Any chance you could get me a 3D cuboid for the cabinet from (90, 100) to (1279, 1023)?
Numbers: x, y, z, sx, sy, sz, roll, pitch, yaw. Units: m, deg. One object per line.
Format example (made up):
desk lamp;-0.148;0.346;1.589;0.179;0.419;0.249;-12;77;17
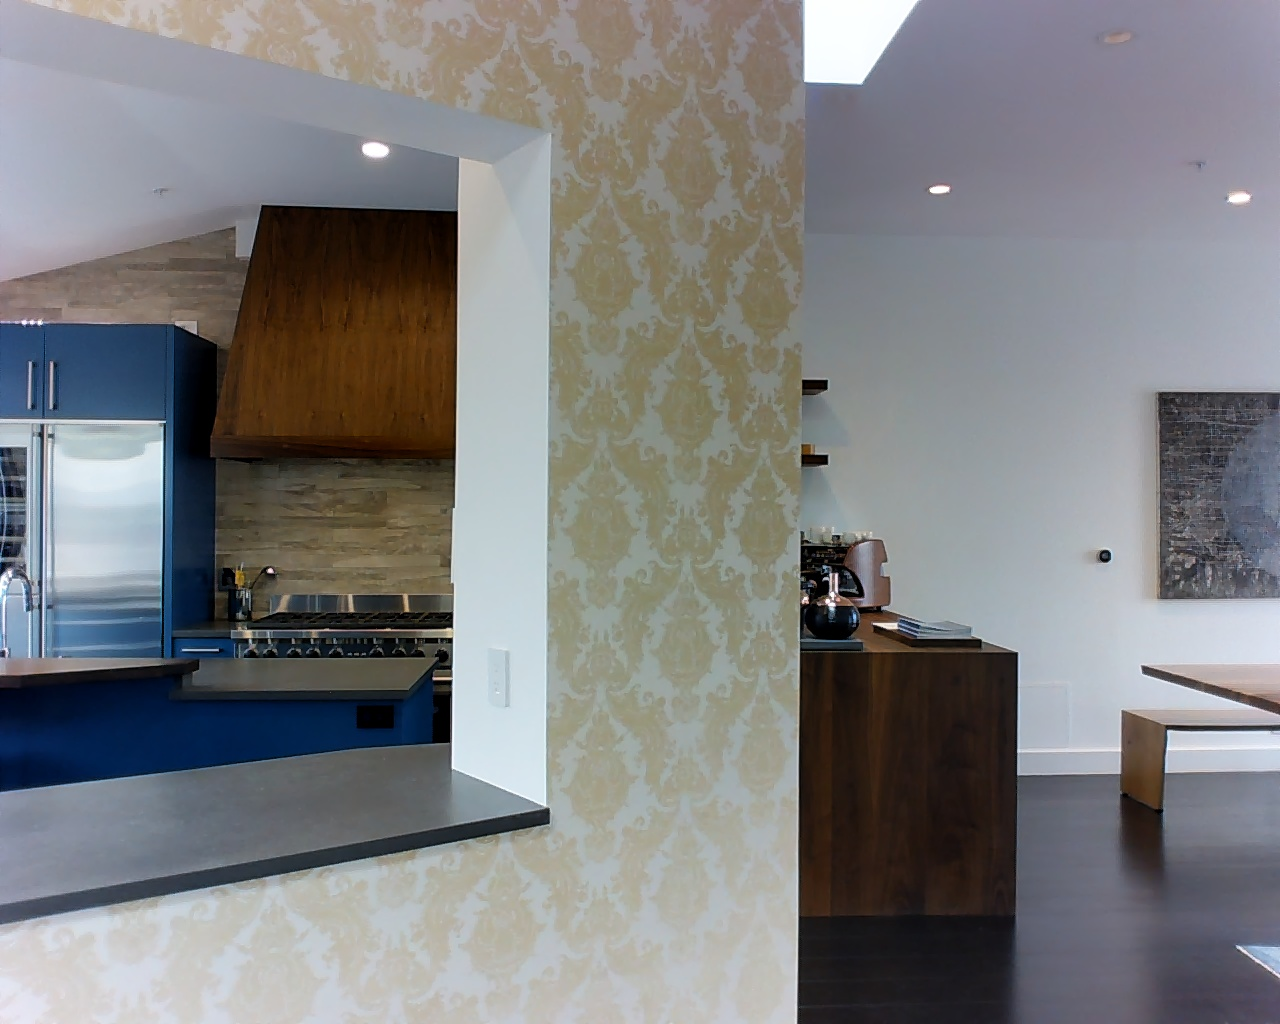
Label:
cabinet;1.160;0.590;2.900;4.520;2.450;1.330;1;0;-14
